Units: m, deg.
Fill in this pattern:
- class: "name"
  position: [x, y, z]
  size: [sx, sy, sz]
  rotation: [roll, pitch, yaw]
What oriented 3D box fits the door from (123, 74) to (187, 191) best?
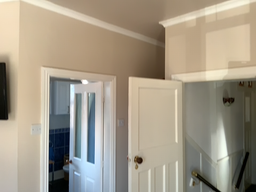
- class: "door"
  position: [0.270, 0.790, 1.900]
  size: [0.720, 1.910, 0.110]
  rotation: [1, -1, -41]
